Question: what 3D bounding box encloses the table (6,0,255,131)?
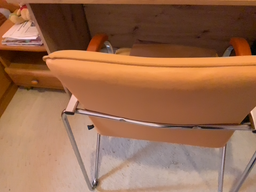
[{"bbox_3d":[0.240,-0.310,1.140,1.250,0.740,0.590,5,53,10],"label":"table"}]
